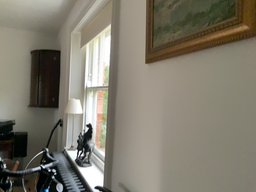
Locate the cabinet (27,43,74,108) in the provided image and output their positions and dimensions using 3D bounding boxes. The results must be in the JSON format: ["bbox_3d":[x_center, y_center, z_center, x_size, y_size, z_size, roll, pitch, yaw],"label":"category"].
[{"bbox_3d":[-1.280,-0.290,3.480,0.640,0.930,0.630,2,0,-24],"label":"cabinet"}]
